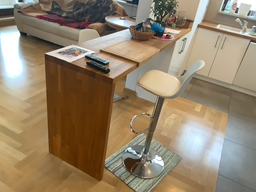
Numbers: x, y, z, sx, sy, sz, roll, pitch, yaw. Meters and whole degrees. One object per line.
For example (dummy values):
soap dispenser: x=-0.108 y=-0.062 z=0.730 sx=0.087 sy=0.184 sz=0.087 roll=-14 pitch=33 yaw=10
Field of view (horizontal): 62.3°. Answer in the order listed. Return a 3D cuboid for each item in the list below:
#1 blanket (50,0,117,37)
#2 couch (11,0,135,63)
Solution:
blanket: x=-0.920 y=-1.650 z=4.200 sx=1.440 sy=0.560 sz=0.190 roll=21 pitch=32 yaw=18
couch: x=-1.120 y=-1.590 z=4.300 sx=2.120 sy=0.970 sz=1.130 roll=22 pitch=32 yaw=20
